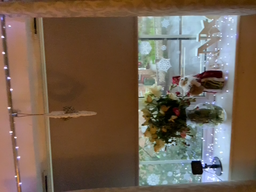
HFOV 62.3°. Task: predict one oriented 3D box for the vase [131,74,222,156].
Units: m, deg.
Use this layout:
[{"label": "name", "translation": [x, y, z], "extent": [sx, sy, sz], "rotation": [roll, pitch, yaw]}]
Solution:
[{"label": "vase", "translation": [0.290, 0.100, 1.420], "extent": [0.320, 0.510, 0.480], "rotation": [-129, 38, -82]}]
